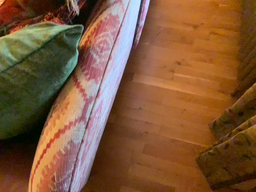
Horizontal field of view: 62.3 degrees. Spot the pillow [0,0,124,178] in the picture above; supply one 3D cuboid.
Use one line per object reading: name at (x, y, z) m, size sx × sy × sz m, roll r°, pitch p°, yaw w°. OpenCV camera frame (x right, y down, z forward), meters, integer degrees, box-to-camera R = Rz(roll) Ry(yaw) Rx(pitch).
pillow at (-0.410, -0.060, 0.720) m, size 0.640 × 0.560 × 0.450 m, roll -23°, pitch 67°, yaw -8°
